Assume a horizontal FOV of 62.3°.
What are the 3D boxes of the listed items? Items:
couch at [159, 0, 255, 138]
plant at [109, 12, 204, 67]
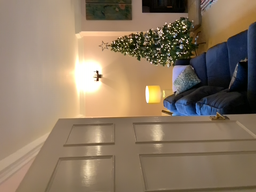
[{"bbox_3d":[1.050,-0.230,2.620,2.220,0.840,1.000,-166,76,-85],"label":"couch"},{"bbox_3d":[0.480,-1.020,4.050,0.800,1.660,0.840,-172,81,-85],"label":"plant"}]
